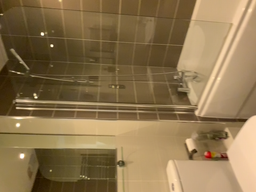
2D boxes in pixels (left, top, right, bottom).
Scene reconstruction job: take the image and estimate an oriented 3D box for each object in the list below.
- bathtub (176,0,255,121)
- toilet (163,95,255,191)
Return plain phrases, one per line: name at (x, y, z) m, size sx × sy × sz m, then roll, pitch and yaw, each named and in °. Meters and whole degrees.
bathtub at (0.860, -0.590, 1.480) m, size 0.690 × 0.550 × 1.490 m, roll -95°, pitch 8°, yaw -48°
toilet at (0.710, 0.390, 1.230) m, size 0.410 × 0.830 × 0.660 m, roll -94°, pitch 8°, yaw -46°
